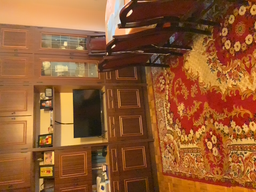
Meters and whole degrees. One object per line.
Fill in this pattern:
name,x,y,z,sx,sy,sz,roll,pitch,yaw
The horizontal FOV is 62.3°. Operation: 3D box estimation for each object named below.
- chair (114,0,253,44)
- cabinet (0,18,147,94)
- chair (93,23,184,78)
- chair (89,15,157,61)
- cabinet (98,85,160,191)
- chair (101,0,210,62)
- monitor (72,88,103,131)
chair,0.410,-0.750,1.690,0.380,0.970,0.450,137,130,-66
cabinet,-0.890,-0.580,3.470,0.450,2.300,1.010,137,130,-66
chair,0.110,-0.520,2.570,0.400,0.980,0.450,136,131,-65
chair,-0.100,-0.870,3.270,0.470,0.930,0.410,126,140,-60
cabinet,-0.030,0.730,3.360,0.460,0.740,1.730,137,130,-66
chair,0.260,-0.630,2.120,0.350,0.980,0.430,142,126,-67
monitor,-0.610,0.200,3.210,0.060,0.440,0.630,146,122,-68
